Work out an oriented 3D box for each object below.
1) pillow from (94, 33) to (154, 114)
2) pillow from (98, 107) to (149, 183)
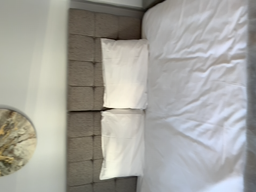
[{"bbox_3d":[-0.040,-0.200,1.940,0.140,0.490,0.680,-99,13,-88],"label":"pillow"},{"bbox_3d":[-0.050,0.470,2.020,0.130,0.430,0.690,-115,28,-80],"label":"pillow"}]
